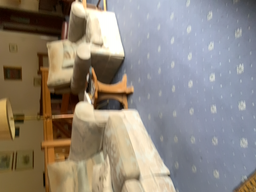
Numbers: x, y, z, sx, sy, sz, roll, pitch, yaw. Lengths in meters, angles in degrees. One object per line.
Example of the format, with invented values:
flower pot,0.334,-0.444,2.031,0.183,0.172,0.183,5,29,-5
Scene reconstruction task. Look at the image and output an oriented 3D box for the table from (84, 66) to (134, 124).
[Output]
table,-0.270,-0.020,2.670,0.520,0.420,0.510,-120,38,-49
